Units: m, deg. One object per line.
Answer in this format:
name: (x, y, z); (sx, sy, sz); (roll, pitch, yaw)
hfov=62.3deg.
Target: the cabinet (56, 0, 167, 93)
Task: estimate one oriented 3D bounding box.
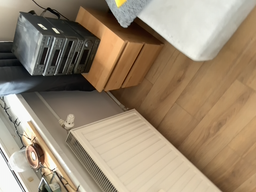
cabinet: (-0.110, -0.340, 1.470); (0.480, 0.490, 0.350); (43, 121, 23)
